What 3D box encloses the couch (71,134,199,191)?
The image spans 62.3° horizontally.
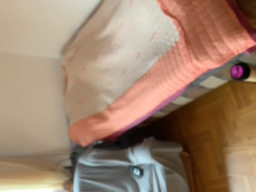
[{"bbox_3d":[0.020,0.910,2.150,0.980,0.890,0.890,-26,66,57],"label":"couch"}]
